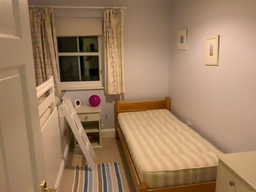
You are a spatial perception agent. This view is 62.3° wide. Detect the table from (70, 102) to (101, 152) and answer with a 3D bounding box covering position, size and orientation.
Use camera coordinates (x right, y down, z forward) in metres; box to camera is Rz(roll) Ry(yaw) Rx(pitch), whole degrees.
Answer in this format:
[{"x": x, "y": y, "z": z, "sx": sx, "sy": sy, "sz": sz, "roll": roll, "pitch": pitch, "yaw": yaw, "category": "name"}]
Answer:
[{"x": -0.690, "y": 0.490, "z": 3.500, "sx": 0.450, "sy": 0.670, "sz": 0.470, "roll": -3, "pitch": 13, "yaw": -10, "category": "table"}]
